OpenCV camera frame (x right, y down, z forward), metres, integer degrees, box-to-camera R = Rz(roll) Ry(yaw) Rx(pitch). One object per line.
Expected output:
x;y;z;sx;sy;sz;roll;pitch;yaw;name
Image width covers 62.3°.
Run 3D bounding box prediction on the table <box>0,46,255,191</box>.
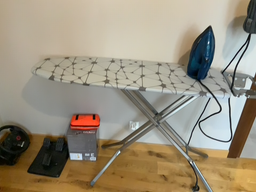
0.010;0.190;1.520;1.440;0.870;0.460;5;32;5;table
